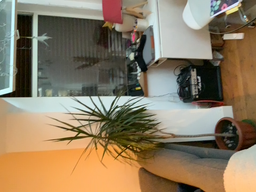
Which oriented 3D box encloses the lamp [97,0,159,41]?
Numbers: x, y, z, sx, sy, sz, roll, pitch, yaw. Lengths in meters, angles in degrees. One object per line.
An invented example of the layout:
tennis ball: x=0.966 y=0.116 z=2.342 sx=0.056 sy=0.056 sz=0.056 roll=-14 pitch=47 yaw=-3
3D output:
lamp: x=-0.030 y=-0.890 z=2.350 sx=0.550 sy=0.550 sz=0.330 roll=154 pitch=114 yaw=-72

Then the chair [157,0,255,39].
chair: x=0.710 y=-0.880 z=1.900 sx=0.450 sy=0.770 sz=0.530 roll=148 pitch=120 yaw=-71

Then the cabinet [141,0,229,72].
cabinet: x=0.590 y=-0.690 z=2.330 sx=0.430 sy=0.750 sz=0.740 roll=146 pitch=122 yaw=-71
